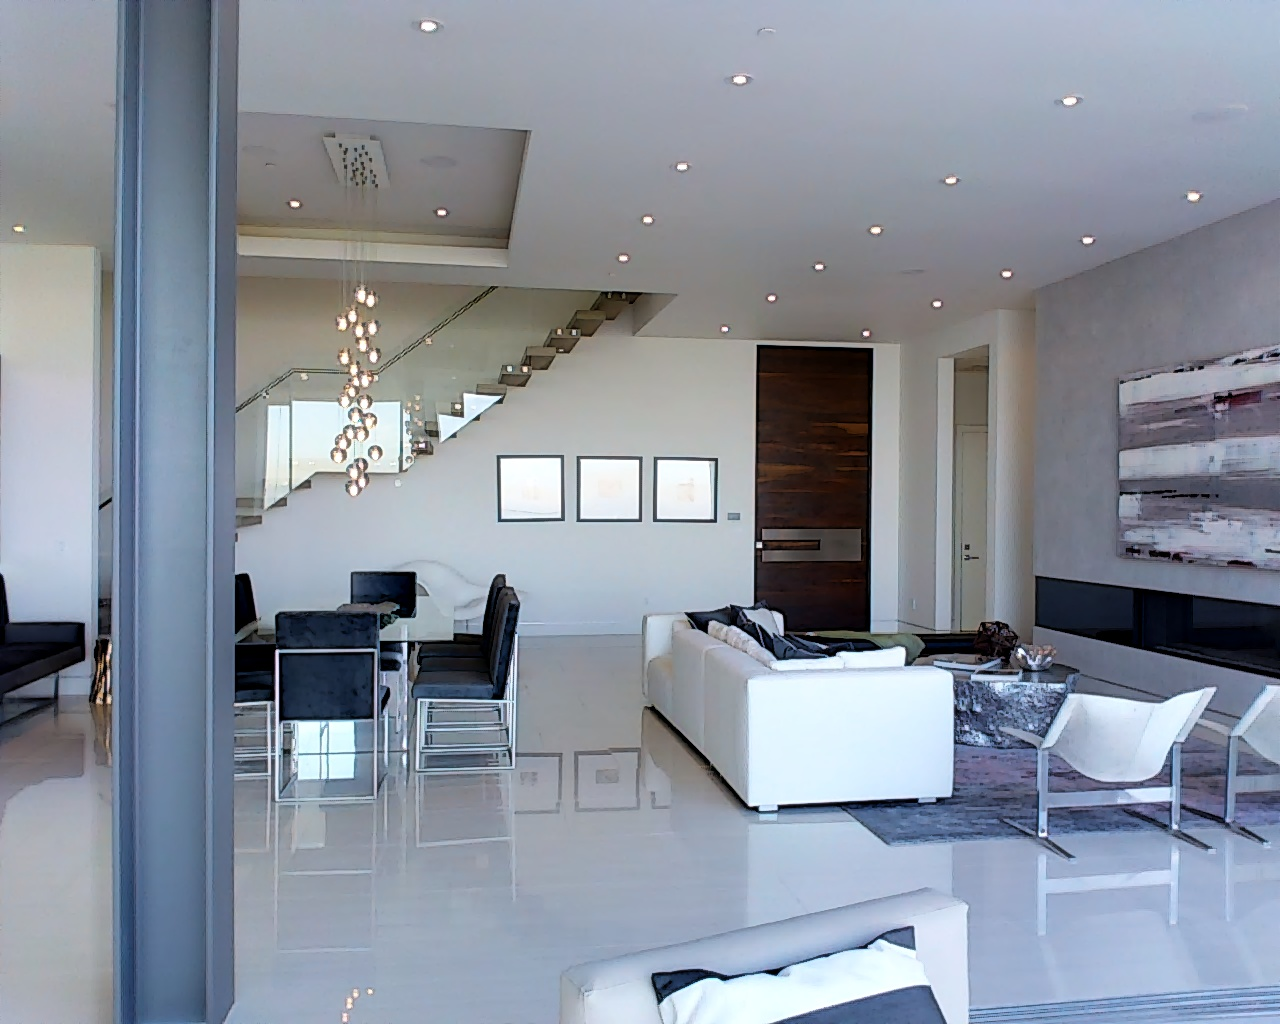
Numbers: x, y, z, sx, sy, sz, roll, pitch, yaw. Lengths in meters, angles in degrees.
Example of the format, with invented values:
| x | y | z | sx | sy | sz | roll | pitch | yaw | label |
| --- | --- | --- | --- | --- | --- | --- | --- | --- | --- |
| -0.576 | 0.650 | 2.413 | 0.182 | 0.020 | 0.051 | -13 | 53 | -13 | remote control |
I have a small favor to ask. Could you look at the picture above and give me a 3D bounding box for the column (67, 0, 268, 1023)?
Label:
| x | y | z | sx | sy | sz | roll | pitch | yaw | label |
| --- | --- | --- | --- | --- | --- | --- | --- | --- | --- |
| -1.340 | -0.120 | 3.110 | 0.430 | 3.200 | 0.440 | 0 | 1 | -9 | column |
